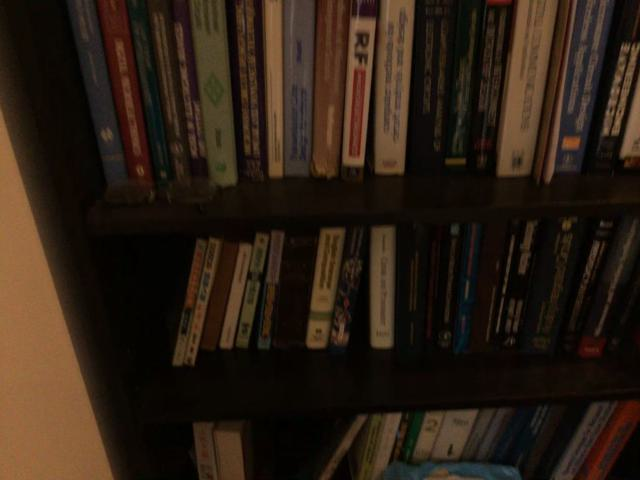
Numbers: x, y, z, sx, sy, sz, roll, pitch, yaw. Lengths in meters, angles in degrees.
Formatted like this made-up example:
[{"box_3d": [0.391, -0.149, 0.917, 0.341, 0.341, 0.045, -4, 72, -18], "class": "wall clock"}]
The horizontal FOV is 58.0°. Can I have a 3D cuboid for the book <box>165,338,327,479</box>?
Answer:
[{"box_3d": [-0.110, 0.320, 0.980, 0.230, 0.210, 0.200, -4, 29, -1], "class": "book"}]

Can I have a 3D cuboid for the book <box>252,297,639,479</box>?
[{"box_3d": [0.210, 0.300, 0.950, 0.600, 0.280, 0.250, -4, 29, -1], "class": "book"}]

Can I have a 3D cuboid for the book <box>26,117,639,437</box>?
[{"box_3d": [0.100, 0.030, 0.800, 0.810, 0.270, 0.300, -4, 29, -1], "class": "book"}]
